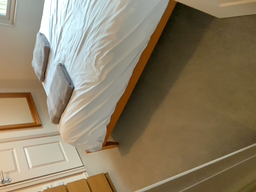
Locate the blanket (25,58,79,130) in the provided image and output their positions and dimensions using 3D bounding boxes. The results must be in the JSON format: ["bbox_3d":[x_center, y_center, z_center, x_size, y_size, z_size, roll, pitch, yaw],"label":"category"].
[{"bbox_3d":[-0.700,-0.030,1.920,0.460,0.540,0.120,15,-165,22],"label":"blanket"}]

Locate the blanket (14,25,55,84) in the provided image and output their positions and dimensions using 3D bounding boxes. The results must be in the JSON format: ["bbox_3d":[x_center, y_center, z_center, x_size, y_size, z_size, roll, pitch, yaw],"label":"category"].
[{"bbox_3d":[-1.040,-0.460,2.330,0.480,0.550,0.100,16,-165,23],"label":"blanket"}]
